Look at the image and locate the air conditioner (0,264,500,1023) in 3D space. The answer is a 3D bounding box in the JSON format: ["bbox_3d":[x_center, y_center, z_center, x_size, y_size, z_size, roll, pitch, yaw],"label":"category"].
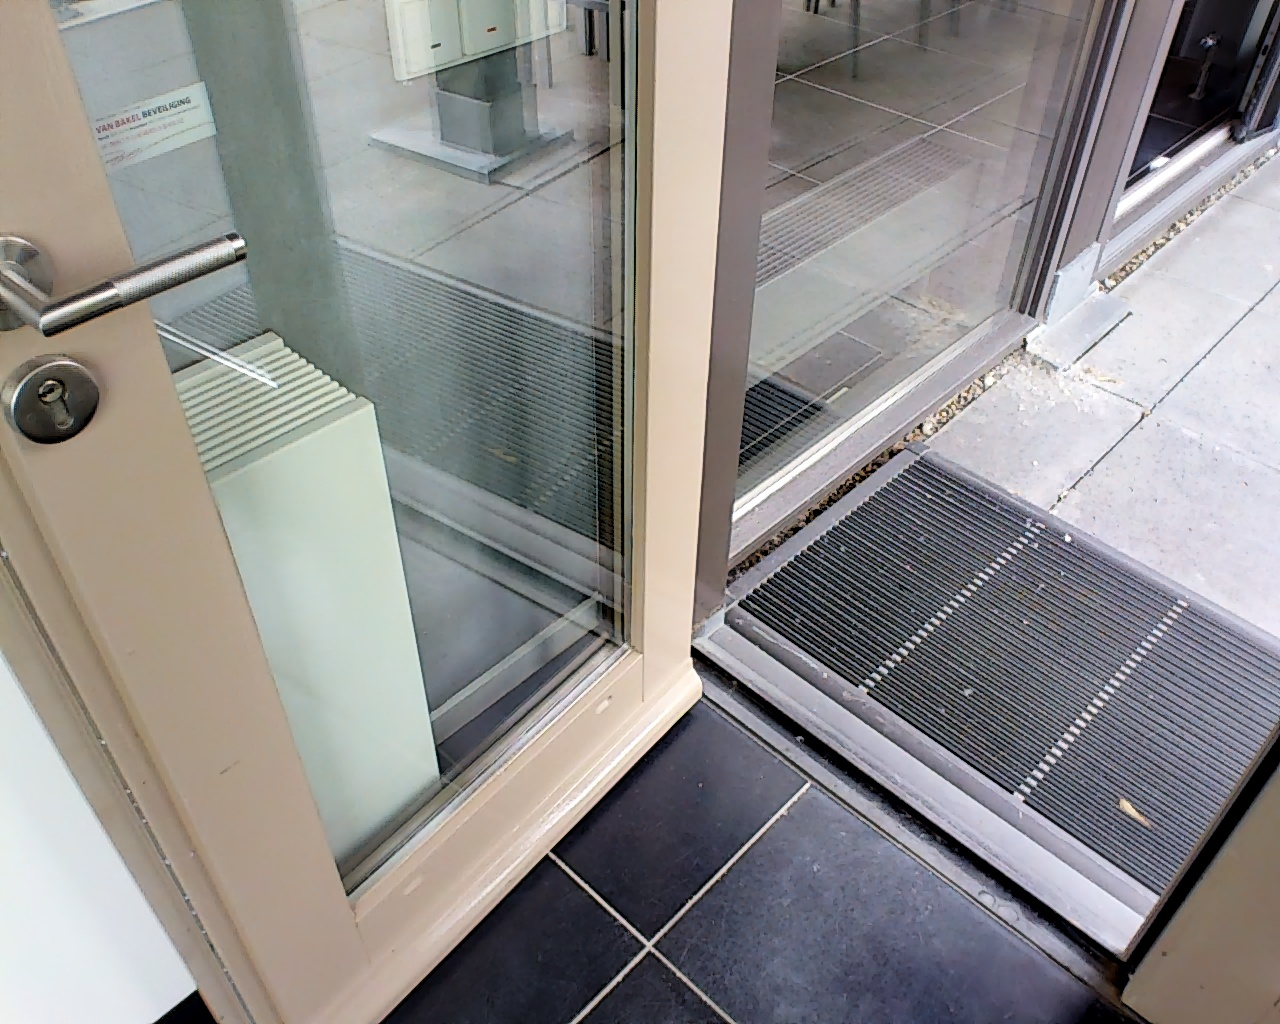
[{"bbox_3d":[-0.540,0.290,1.090,0.210,0.820,0.790,33,51,30],"label":"air conditioner"}]
